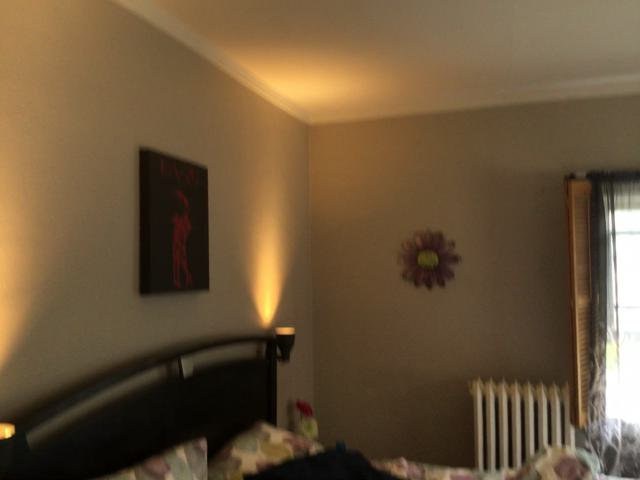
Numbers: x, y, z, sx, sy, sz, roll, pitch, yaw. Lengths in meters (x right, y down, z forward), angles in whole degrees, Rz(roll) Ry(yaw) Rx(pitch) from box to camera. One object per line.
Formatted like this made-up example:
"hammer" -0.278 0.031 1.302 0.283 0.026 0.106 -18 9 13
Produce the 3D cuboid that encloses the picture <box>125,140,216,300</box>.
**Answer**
"picture" -0.540 -0.060 2.140 0.070 0.530 0.440 -5 -3 18

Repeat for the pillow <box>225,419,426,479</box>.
"pillow" 0.060 0.870 2.190 0.570 0.200 0.670 -5 -3 18

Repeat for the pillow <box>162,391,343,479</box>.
"pillow" -0.220 0.830 2.310 0.400 0.280 0.800 -5 -3 18

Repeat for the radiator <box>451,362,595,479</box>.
"radiator" 1.050 1.140 2.980 0.630 0.950 0.340 -5 -3 18
